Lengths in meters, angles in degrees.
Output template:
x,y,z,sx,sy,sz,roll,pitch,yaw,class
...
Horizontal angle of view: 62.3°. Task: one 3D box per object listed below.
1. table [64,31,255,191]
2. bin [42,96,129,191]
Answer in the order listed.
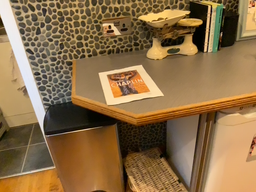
x,y,z,sx,sy,sz,roll,pitch,yaw,class
0.610,0.190,1.260,1.710,0.920,0.620,-9,32,-8,table
-0.240,0.370,1.360,0.400,0.630,0.280,-10,32,-9,bin
